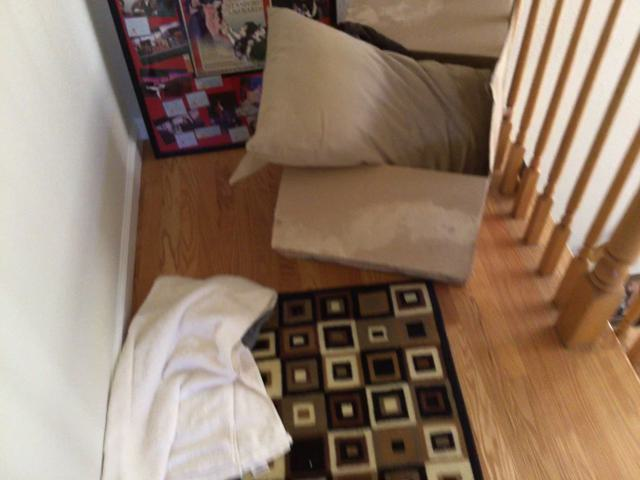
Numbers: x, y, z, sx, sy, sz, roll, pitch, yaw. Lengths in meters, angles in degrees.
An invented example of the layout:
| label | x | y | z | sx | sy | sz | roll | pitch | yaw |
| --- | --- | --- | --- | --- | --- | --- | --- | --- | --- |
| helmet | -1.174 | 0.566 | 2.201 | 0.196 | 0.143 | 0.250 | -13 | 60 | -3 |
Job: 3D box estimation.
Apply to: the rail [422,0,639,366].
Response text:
| label | x | y | z | sx | sy | sz | roll | pitch | yaw |
| --- | --- | --- | --- | --- | --- | --- | --- | --- | --- |
| rail | 0.620 | -0.430 | 1.420 | 0.400 | 0.960 | 1.090 | -3 | 49 | -3 |

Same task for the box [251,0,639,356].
| label | x | y | z | sx | sy | sz | roll | pitch | yaw |
| --- | --- | --- | --- | --- | --- | --- | --- | --- | --- |
| box | 0.200 | -0.310 | 1.550 | 0.710 | 0.660 | 0.970 | -3 | 49 | -3 |

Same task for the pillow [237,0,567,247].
| label | x | y | z | sx | sy | sz | roll | pitch | yaw |
| --- | --- | --- | --- | --- | --- | --- | --- | --- | --- |
| pillow | 0.150 | -0.310 | 1.460 | 0.670 | 0.360 | 0.500 | -3 | 49 | -3 |
